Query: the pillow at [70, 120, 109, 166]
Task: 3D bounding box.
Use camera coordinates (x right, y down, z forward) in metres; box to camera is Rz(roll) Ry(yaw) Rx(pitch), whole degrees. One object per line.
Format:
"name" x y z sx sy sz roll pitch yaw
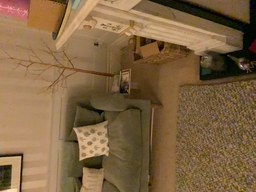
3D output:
"pillow" -0.460 0.560 2.590 0.190 0.440 0.510 140 130 -86

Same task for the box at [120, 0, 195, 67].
"box" 0.270 -0.640 2.300 0.810 0.390 0.470 -8 80 60

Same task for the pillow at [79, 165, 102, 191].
"pillow" -0.460 1.090 2.640 0.160 0.280 0.390 -150 61 -83

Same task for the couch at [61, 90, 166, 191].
"couch" -0.260 1.000 2.620 1.120 0.840 2.080 0 87 61
